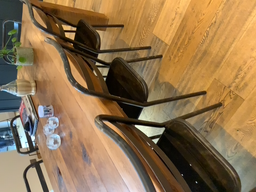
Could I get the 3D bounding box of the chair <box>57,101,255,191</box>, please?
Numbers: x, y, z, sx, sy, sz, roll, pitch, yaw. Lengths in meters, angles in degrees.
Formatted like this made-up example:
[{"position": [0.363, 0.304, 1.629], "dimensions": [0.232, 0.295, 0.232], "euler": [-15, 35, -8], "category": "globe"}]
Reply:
[{"position": [0.240, 0.370, 0.980], "dimensions": [0.470, 0.920, 0.440], "euler": [50, 129, 37], "category": "chair"}]
